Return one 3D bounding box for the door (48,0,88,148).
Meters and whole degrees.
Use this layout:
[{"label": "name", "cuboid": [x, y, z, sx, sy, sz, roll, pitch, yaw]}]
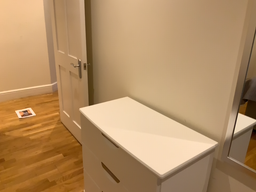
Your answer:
[{"label": "door", "cuboid": [-0.630, -0.510, 2.140, 0.030, 1.940, 0.830, -12, 25, -33]}]
